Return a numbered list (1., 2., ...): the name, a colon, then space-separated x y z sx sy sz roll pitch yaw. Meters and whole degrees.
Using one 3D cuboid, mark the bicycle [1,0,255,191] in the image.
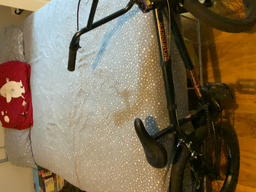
1. bicycle: 0.160 -0.120 0.940 0.760 1.070 1.660 2 95 46
